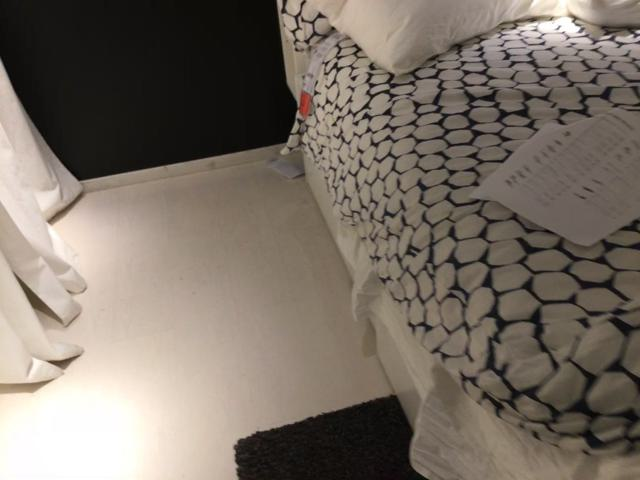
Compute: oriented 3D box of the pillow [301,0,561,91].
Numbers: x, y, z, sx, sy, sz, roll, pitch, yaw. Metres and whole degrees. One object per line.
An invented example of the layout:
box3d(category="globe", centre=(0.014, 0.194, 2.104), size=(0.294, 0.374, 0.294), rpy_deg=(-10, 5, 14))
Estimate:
box3d(category="pillow", centre=(0.320, -0.680, 1.630), size=(0.620, 0.260, 0.410), rpy_deg=(-27, 40, -28))
